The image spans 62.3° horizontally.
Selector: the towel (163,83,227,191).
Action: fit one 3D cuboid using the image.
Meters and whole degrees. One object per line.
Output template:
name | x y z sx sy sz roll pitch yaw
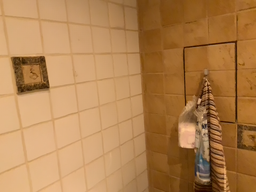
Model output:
towel | 0.290 0.220 0.910 0.230 0.540 0.110 2 12 35
